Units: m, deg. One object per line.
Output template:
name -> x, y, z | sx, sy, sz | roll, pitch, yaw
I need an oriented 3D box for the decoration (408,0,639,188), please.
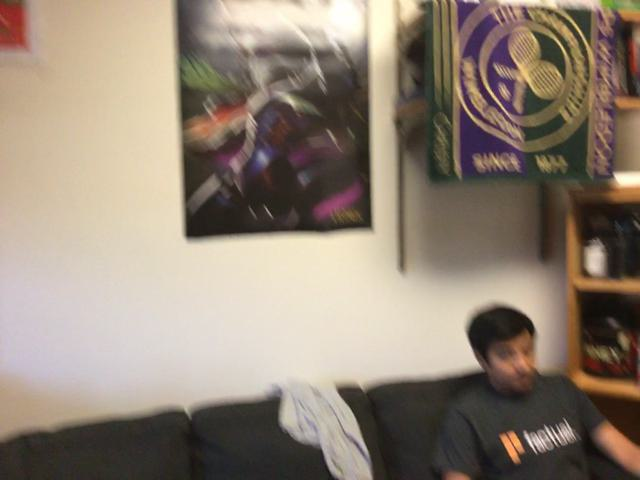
decoration -> 0.690, -0.620, 1.880 | 0.790, 0.850, 0.140 | -4, 3, -15
